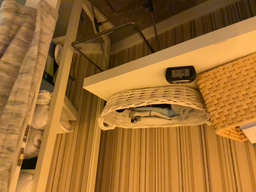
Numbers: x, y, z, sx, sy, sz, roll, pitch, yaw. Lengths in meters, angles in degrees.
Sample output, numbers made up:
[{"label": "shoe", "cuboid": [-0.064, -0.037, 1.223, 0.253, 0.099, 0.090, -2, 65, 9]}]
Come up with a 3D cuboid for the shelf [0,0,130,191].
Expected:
[{"label": "shelf", "cuboid": [-0.350, 0.240, 1.140, 0.450, 1.650, 0.520, -14, 150, 33]}]

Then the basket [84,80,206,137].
[{"label": "basket", "cuboid": [0.080, 0.090, 1.010, 0.470, 0.090, 0.320, -14, 150, 33]}]

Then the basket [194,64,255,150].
[{"label": "basket", "cuboid": [0.450, 0.050, 0.730, 0.330, 0.190, 0.310, -14, 151, 32]}]
